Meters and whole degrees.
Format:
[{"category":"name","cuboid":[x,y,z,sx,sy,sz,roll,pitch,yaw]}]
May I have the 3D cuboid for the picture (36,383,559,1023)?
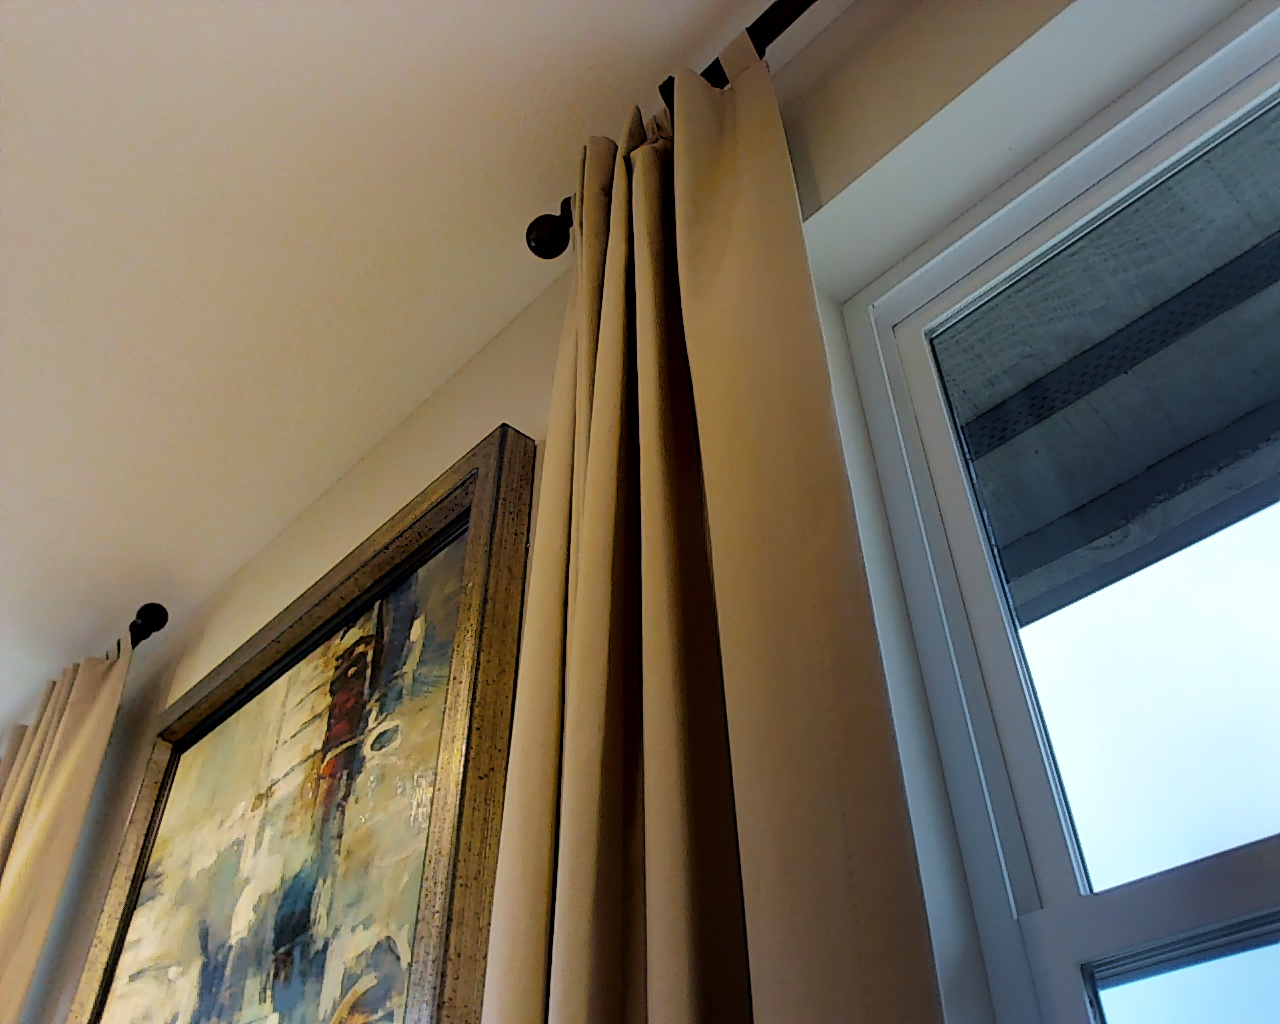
[{"category":"picture","cuboid":[-0.500,0.500,1.340,0.070,1.080,1.050,33,-52,-31]}]
